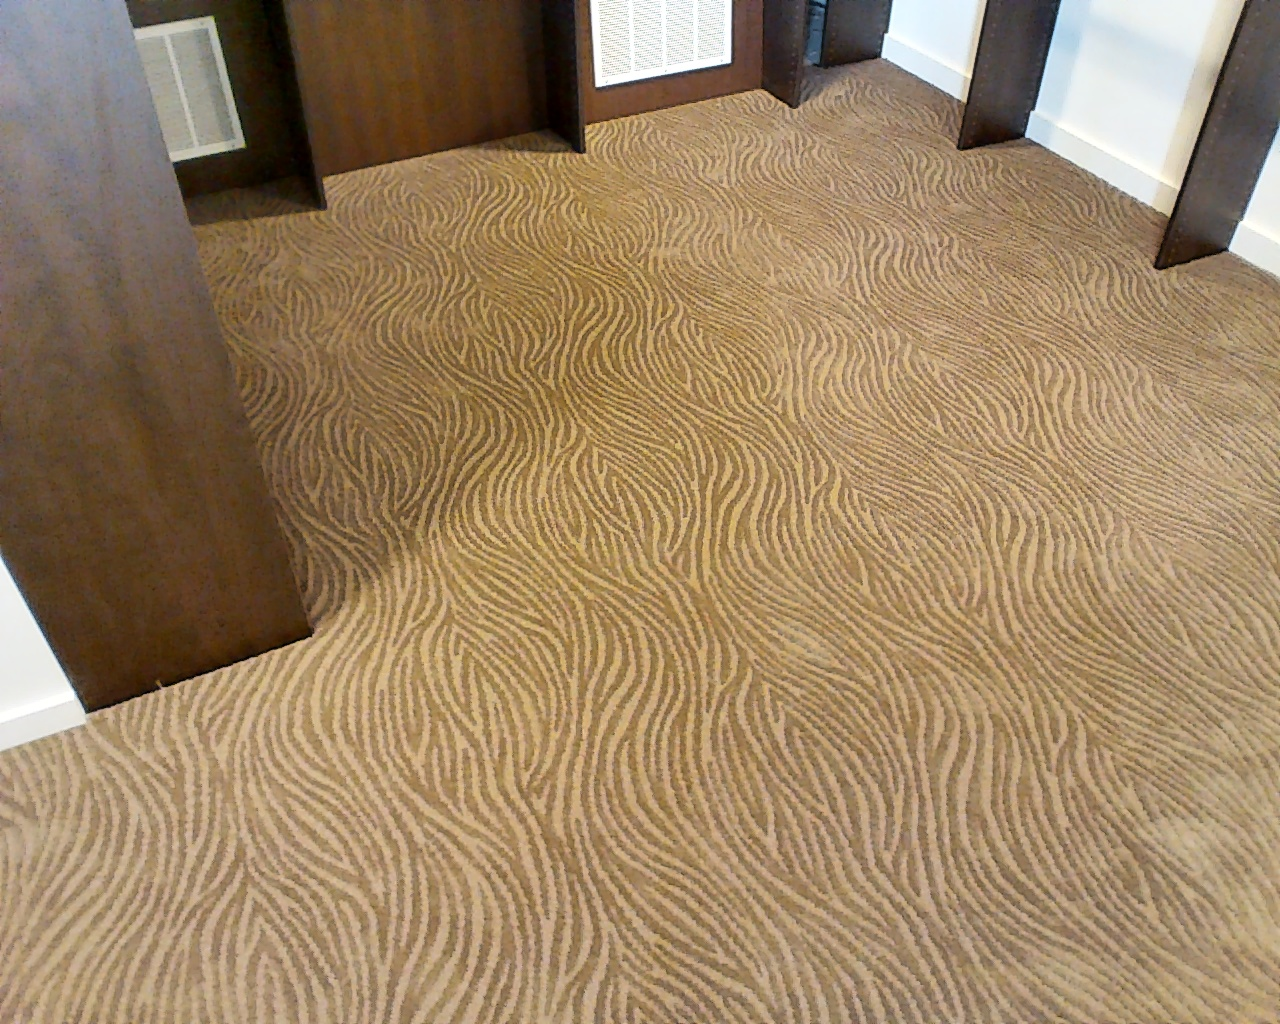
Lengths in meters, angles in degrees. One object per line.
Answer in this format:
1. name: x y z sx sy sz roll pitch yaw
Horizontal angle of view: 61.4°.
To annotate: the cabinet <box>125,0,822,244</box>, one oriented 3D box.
1. cabinet: -0.420 -2.010 2.960 2.130 2.150 0.360 -17 45 -19
